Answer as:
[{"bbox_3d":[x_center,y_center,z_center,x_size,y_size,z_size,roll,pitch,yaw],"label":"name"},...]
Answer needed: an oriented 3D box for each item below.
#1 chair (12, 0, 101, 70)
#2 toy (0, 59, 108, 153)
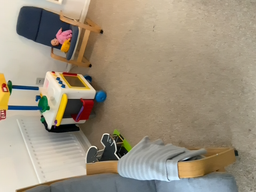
[{"bbox_3d":[-0.740,-0.600,2.180,0.460,0.670,0.440,44,120,40],"label":"chair"},{"bbox_3d":[-0.770,0.080,2.040,0.480,0.890,0.630,41,118,41],"label":"toy"}]
